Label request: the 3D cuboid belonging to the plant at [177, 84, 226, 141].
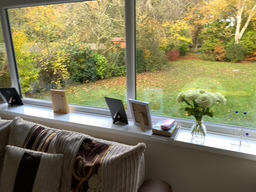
[{"bbox_3d":[0.480,0.100,1.400,0.260,0.300,0.180,6,18,19],"label":"plant"}]
